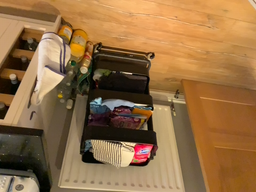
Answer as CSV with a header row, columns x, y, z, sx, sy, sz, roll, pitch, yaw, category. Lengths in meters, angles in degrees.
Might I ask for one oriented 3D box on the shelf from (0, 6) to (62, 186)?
x,y,z,sx,sy,sz,roll,pitch,yaw,category
-0.600,-0.020,1.300,0.190,0.910,0.610,7,139,-9,shelf
